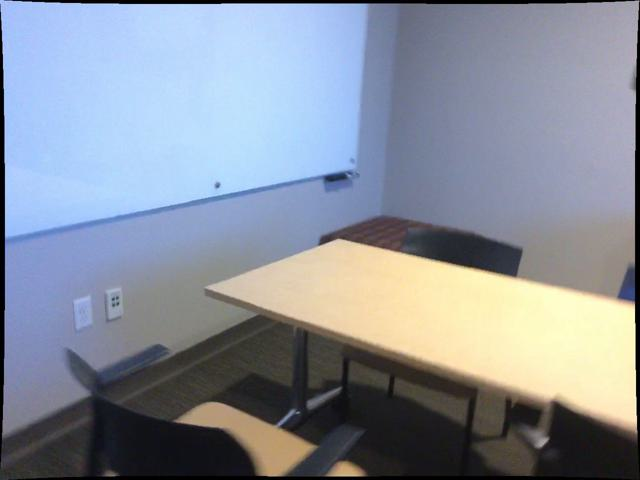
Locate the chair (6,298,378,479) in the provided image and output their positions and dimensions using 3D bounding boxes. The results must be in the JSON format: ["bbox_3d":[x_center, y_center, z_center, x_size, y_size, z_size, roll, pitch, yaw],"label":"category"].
[{"bbox_3d":[-0.280,0.611,1.330,0.609,0.711,0.490,14,20,32],"label":"chair"}]
